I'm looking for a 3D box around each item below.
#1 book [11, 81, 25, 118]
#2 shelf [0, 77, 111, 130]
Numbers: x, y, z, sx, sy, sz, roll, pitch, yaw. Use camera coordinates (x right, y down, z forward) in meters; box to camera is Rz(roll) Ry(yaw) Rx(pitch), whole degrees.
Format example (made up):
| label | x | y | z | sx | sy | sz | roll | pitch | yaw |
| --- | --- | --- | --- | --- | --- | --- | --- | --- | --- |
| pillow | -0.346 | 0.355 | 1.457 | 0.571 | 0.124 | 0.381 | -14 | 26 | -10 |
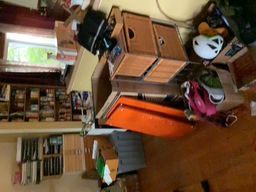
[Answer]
| label | x | y | z | sx | sy | sz | roll | pitch | yaw |
| --- | --- | --- | --- | --- | --- | --- | --- | --- | --- |
| book | -1.940 | 0.060 | 3.750 | 0.180 | 0.190 | 0.630 | 131 | 135 | -53 |
| shelf | -1.450 | 0.150 | 3.960 | 0.290 | 2.180 | 0.870 | 128 | 137 | -51 |
